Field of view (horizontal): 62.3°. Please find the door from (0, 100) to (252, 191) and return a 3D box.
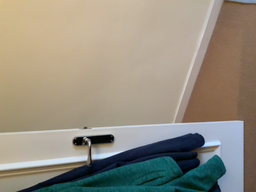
[{"bbox_3d":[-0.200,0.480,0.950,0.180,2.070,0.920,176,94,-64],"label":"door"}]
